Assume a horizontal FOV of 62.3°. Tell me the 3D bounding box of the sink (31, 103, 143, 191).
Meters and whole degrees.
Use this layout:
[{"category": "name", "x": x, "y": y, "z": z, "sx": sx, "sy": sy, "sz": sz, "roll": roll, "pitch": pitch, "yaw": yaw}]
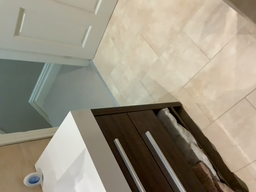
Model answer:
[{"category": "sink", "x": -0.110, "y": 0.540, "z": 0.840, "sx": 0.510, "sy": 0.130, "sz": 0.900, "roll": -52, "pitch": 59, "yaw": 32}]
